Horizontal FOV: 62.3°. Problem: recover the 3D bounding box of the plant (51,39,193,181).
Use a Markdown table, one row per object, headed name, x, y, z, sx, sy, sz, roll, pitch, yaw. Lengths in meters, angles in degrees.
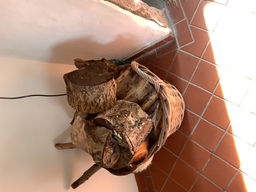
| name | x | y | z | sx | sy | sz | roll | pitch | yaw |
| --- | --- | --- | --- | --- | --- | --- | --- | --- | --- |
| plant | -0.010 | 0.080 | 1.230 | 0.430 | 0.580 | 0.580 | -21 | 81 | 35 |
